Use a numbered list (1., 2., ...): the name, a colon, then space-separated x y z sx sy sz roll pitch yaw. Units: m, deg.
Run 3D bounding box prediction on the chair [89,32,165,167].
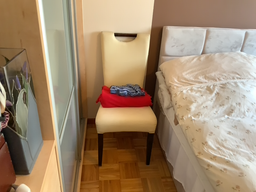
1. chair: -0.060 0.020 1.730 0.460 0.920 0.570 0 29 -7
